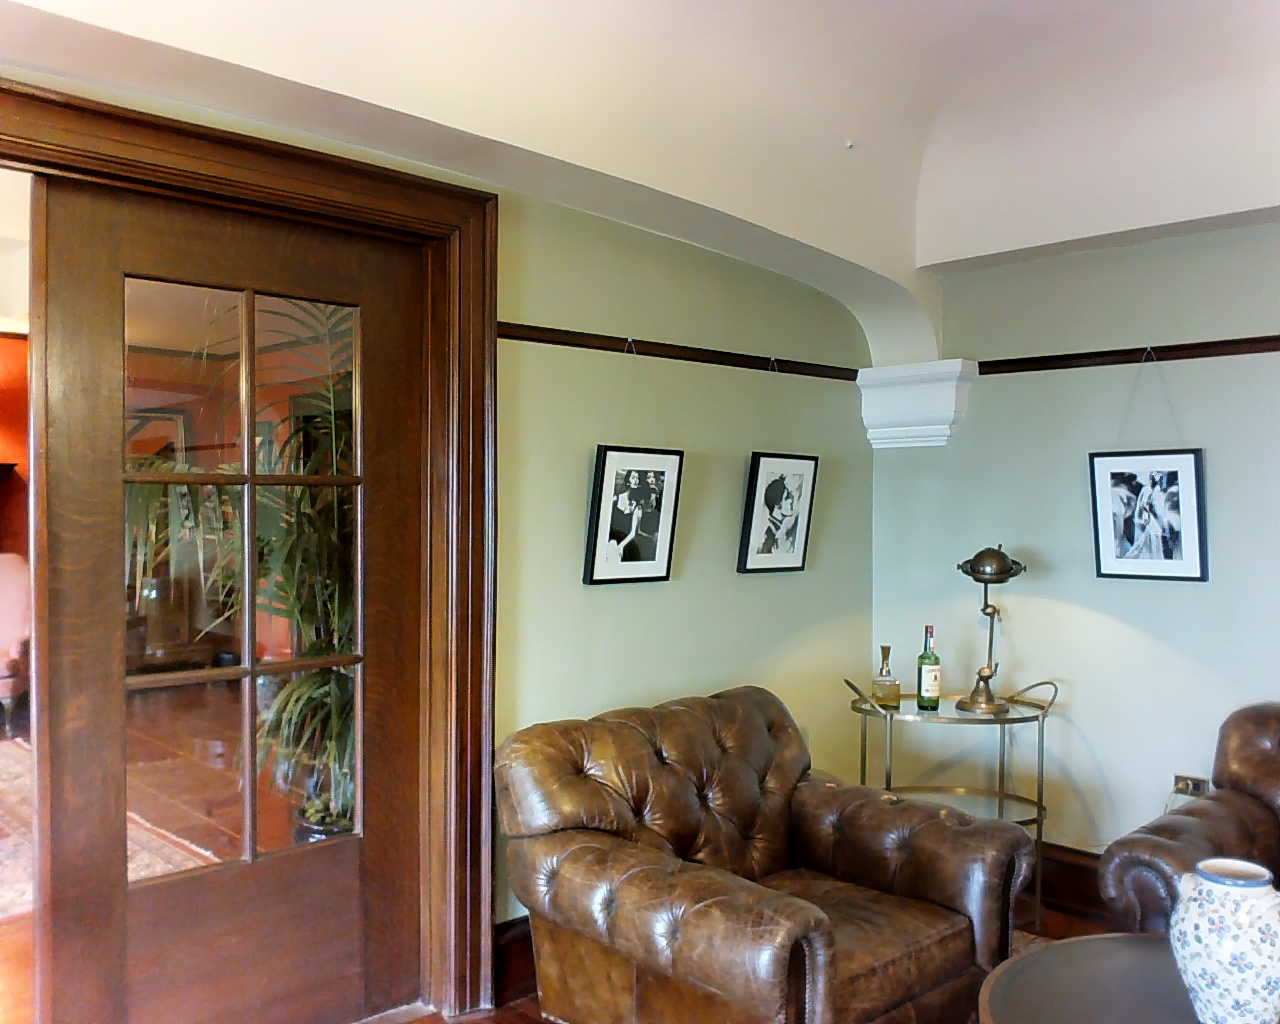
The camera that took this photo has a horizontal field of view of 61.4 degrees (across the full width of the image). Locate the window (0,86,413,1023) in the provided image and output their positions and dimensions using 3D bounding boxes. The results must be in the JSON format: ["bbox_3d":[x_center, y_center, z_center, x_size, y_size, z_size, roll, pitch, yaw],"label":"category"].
[{"bbox_3d":[-1.460,0.270,2.570,1.910,2.420,0.330,0,1,-44],"label":"window"}]
